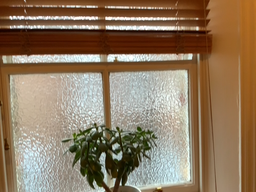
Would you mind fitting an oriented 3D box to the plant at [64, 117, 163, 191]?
[{"bbox_3d":[-0.060,0.310,0.880,0.360,0.390,0.180,-3,4,-12],"label":"plant"}]
